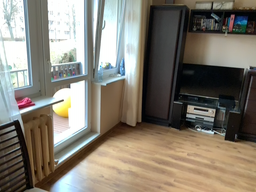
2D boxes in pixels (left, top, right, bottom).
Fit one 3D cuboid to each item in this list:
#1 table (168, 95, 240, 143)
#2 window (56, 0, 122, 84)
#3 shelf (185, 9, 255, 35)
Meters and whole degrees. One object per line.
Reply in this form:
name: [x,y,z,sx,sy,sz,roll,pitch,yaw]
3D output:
table: [1.300,0.350,3.660,1.030,0.460,0.580,10,17,23]
window: [-0.540,-1.050,3.200,0.450,1.540,1.020,10,17,22]
shelf: [1.700,-1.150,3.290,1.540,0.350,0.230,10,17,23]
